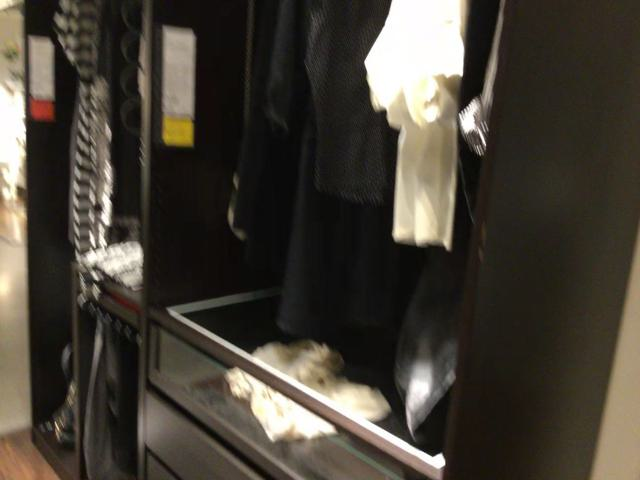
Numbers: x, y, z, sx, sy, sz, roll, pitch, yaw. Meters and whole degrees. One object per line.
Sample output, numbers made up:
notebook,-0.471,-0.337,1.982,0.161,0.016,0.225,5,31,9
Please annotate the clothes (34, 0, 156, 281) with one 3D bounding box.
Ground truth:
clothes,-0.820,-0.480,2.080,0.250,1.170,0.400,-3,13,-42
